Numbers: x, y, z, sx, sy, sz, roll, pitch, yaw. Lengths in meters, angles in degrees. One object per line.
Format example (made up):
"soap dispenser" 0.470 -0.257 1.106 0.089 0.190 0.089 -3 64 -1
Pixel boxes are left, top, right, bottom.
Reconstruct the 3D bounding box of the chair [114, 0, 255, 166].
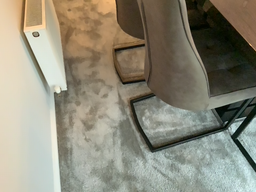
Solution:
"chair" 0.290 -0.160 1.030 0.570 0.950 0.510 -16 55 -13

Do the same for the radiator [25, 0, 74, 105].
"radiator" -0.560 -0.530 1.490 0.110 0.590 1.050 -13 54 -11
